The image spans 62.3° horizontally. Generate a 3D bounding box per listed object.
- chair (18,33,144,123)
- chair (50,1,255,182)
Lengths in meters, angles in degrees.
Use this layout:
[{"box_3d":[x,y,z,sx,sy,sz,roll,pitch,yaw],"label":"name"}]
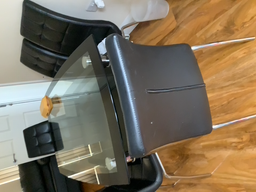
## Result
[{"box_3d":[-0.420,-0.180,1.930,0.440,0.920,0.590,-32,72,54],"label":"chair"},{"box_3d":[0.220,-0.020,1.000,0.590,0.940,0.440,-23,79,55],"label":"chair"}]
